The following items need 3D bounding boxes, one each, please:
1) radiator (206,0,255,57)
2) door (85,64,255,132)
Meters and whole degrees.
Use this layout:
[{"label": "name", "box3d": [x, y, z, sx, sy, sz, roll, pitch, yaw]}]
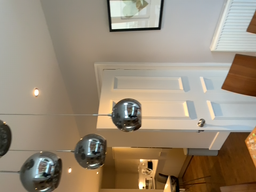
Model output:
[{"label": "radiator", "box3d": [1.250, -0.840, 2.060, 1.040, 0.670, 0.110, 91, 179, -47]}, {"label": "door", "box3d": [0.630, -0.010, 2.440, 0.130, 2.110, 0.870, 91, 179, -52]}]
